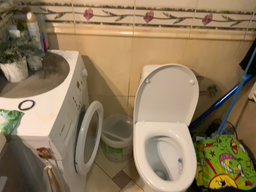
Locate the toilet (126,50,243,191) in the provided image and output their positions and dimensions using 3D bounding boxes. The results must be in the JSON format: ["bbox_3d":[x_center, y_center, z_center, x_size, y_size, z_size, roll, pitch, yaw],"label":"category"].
[{"bbox_3d":[0.210,0.250,1.300,0.370,0.820,0.650,1,41,-4],"label":"toilet"}]
